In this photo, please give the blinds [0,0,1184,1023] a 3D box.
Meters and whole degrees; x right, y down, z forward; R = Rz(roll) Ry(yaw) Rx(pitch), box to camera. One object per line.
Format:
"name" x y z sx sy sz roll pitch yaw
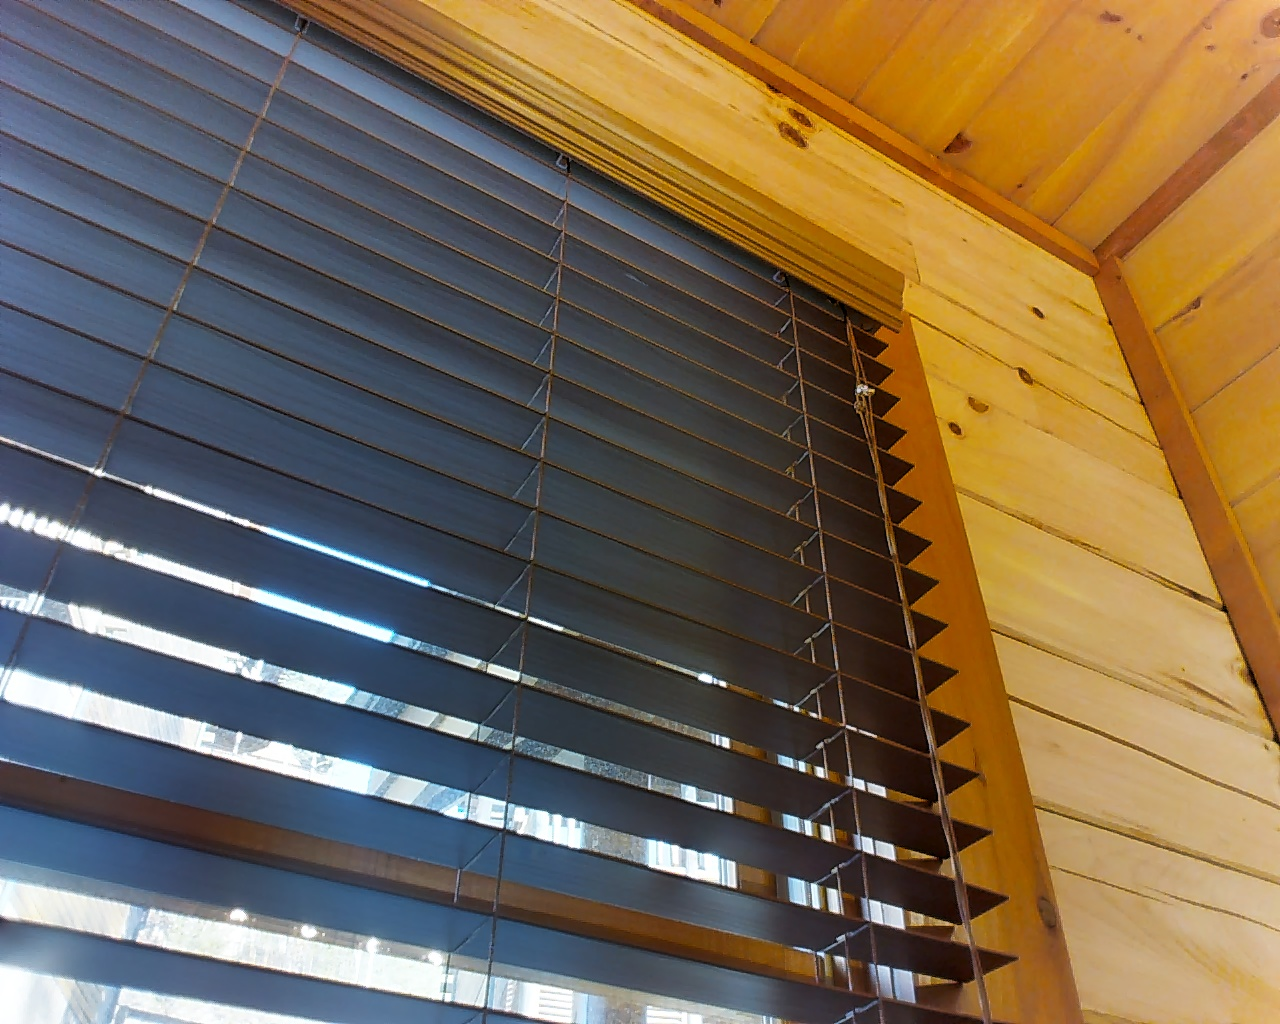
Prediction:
"blinds" -0.580 -0.080 0.420 2.090 1.430 0.140 22 -44 -22
